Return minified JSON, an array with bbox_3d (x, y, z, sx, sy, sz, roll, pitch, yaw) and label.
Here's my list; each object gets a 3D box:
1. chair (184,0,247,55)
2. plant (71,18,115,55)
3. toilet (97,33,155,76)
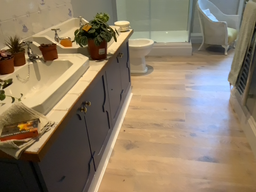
[{"bbox_3d":[1.410,-1.160,3.470,0.660,0.700,0.640,21,38,36],"label":"chair"},{"bbox_3d":[-0.200,-0.360,1.270,0.200,0.180,0.150,4,30,11],"label":"plant"},{"bbox_3d":[0.000,-0.580,2.910,0.690,0.450,0.440,3,30,10],"label":"toilet"}]
